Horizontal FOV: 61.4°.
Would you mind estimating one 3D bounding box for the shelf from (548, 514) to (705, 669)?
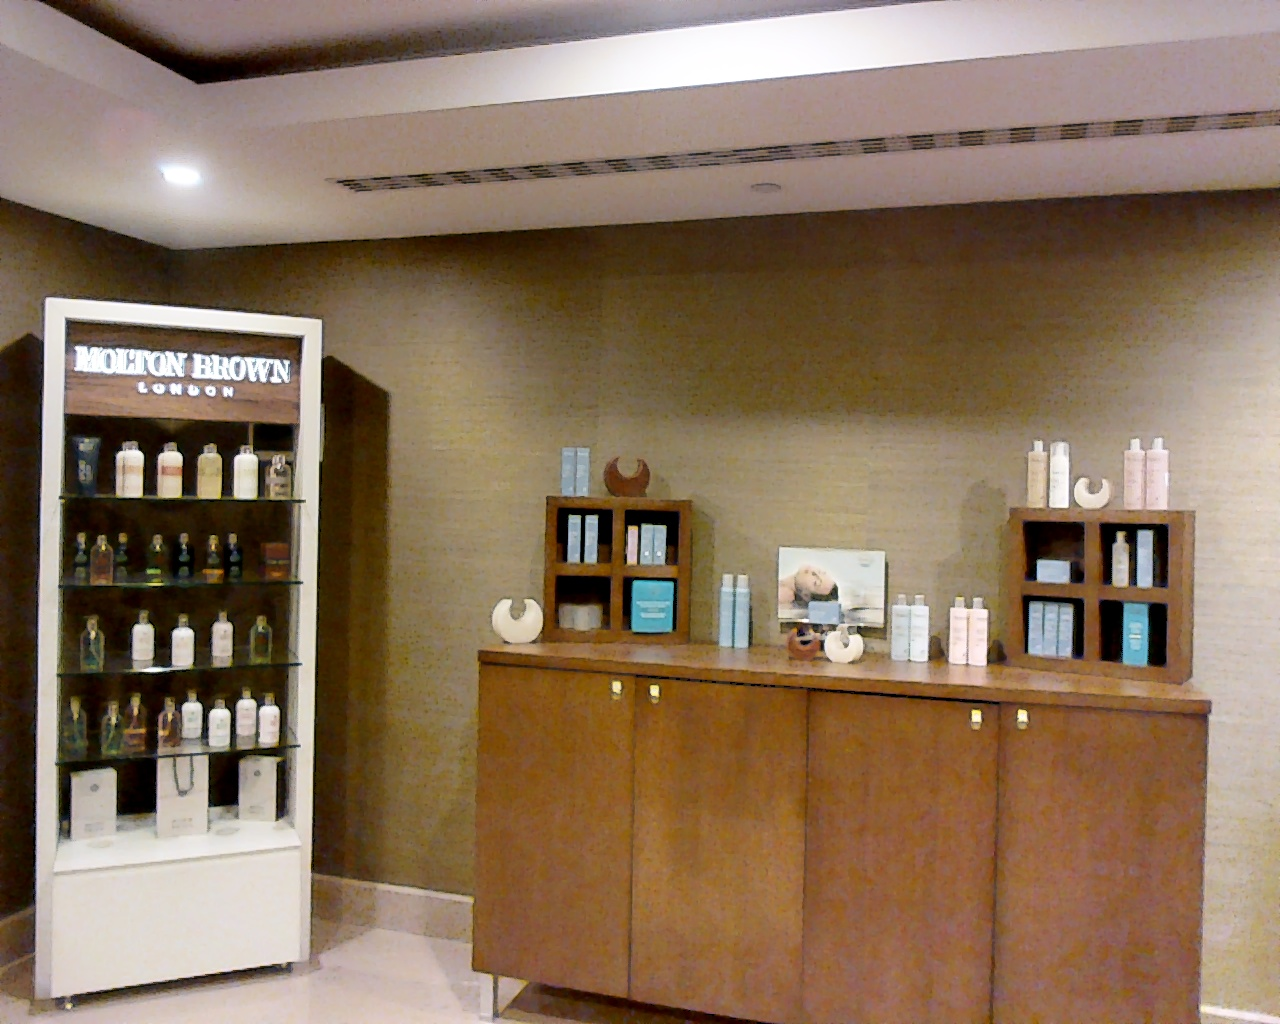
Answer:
[{"bbox_3d":[-0.040,0.240,3.440,0.440,0.460,0.230,1,0,19],"label":"shelf"}]

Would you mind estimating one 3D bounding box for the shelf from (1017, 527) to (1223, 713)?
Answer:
[{"bbox_3d":[1.300,0.280,2.960,0.480,0.460,0.280,1,0,18],"label":"shelf"}]

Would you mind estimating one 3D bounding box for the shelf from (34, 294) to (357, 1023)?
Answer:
[{"bbox_3d":[-1.410,0.460,3.460,0.870,2.160,0.410,1,0,-24],"label":"shelf"}]
